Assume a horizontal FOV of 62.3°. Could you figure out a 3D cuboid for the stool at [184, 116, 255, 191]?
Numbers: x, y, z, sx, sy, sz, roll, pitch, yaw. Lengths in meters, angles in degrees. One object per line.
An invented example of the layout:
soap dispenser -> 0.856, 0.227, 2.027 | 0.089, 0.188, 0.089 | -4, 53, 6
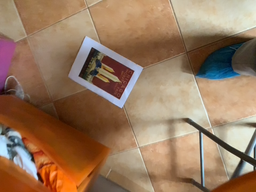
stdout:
stool -> 0.350, 0.270, 0.680 | 0.280, 0.430, 0.290 | -6, 98, 12
